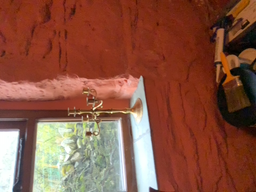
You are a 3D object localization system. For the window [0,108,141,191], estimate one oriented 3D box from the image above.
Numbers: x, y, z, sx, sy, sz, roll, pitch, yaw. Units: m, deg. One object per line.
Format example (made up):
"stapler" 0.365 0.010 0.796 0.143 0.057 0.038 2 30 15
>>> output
"window" -0.440 0.520 0.970 0.110 1.050 0.940 130 139 -59
